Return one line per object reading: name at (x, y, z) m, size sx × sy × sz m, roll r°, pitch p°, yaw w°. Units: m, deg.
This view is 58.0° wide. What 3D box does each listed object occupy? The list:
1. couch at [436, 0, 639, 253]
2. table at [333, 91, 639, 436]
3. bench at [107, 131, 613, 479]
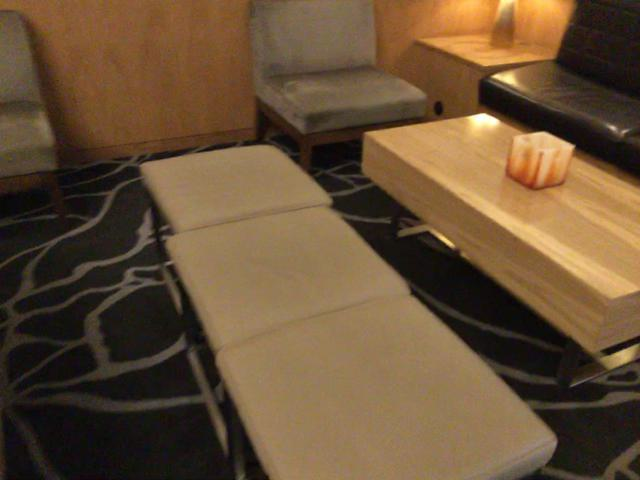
couch at (1.520, -0.600, 2.580) m, size 0.740 × 0.970 × 2.040 m, roll -12°, pitch 34°, yaw -25°
table at (0.690, -0.070, 2.130) m, size 0.660 × 0.530 × 1.380 m, roll -12°, pitch 34°, yaw -26°
bench at (-0.110, 0.170, 1.670) m, size 0.630 × 0.390 × 1.620 m, roll -12°, pitch 34°, yaw -26°
